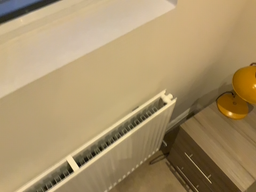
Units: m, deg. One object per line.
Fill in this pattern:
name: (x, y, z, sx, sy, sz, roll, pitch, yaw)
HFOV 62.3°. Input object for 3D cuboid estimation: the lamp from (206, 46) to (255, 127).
lamp: (0.570, -0.040, 1.030, 0.210, 0.280, 0.200, -28, 60, -19)
